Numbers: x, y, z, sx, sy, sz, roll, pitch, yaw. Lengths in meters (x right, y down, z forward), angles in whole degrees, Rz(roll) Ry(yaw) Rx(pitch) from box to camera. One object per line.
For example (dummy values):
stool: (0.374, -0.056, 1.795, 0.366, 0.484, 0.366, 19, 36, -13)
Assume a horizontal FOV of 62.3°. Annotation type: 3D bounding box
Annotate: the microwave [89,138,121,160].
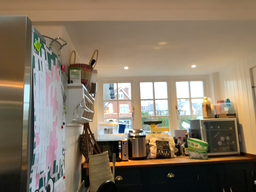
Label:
microwave: (-0.290, 0.680, 2.750, 0.380, 0.220, 0.320, -1, -7, -4)
